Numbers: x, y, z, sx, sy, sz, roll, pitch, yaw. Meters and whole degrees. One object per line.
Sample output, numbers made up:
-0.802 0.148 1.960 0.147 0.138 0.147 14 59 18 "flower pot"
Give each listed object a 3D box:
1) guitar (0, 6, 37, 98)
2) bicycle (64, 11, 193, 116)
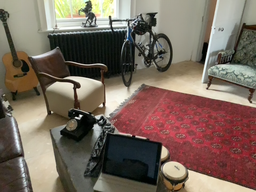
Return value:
-1.440 -0.540 2.690 0.370 1.070 0.310 -19 44 -38 "guitar"
0.120 -0.620 3.180 1.920 1.080 0.590 -23 36 -39 "bicycle"
